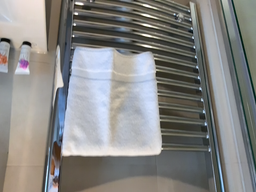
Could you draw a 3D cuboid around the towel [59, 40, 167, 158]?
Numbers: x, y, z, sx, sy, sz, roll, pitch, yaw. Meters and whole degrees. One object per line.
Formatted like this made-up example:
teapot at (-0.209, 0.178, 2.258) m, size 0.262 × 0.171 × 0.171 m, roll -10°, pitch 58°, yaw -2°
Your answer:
towel at (-0.040, 0.020, 0.580) m, size 0.250 × 0.280 × 0.130 m, roll 4°, pitch 166°, yaw -13°
